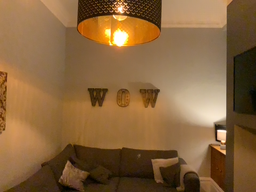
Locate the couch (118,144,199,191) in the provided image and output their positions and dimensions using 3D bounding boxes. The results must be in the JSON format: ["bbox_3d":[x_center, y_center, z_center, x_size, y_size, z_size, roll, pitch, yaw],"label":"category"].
[{"bbox_3d":[0.420,1.280,3.410,1.080,0.740,1.150,1,-1,2],"label":"couch"}]

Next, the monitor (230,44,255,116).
[{"bbox_3d":[1.340,-0.170,2.140,0.040,0.740,1.260,2,-1,2],"label":"monitor"}]
